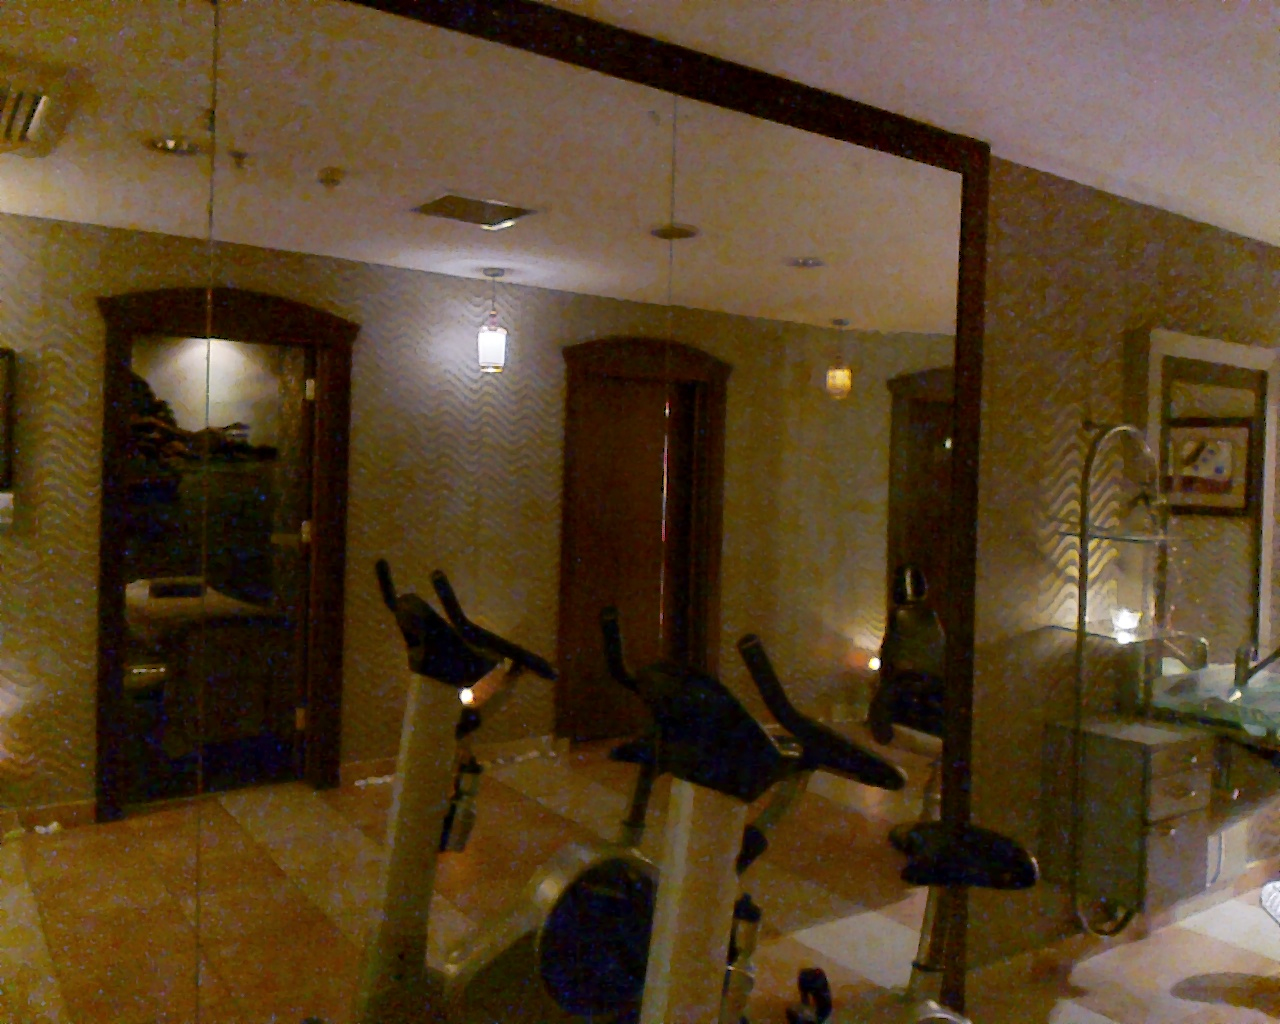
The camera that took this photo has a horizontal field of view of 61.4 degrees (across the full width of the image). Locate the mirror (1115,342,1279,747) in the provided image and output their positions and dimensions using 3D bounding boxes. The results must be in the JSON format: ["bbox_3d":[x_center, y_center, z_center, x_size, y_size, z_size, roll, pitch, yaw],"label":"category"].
[{"bbox_3d":[2.070,0.110,3.870,0.950,1.330,0.160,1,1,-34],"label":"mirror"}]
